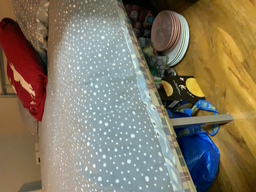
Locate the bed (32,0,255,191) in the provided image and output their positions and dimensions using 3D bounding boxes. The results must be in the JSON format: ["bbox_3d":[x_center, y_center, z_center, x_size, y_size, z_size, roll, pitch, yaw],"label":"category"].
[{"bbox_3d":[-0.120,0.450,1.110,1.500,0.600,2.010,-57,43,49],"label":"bed"}]
